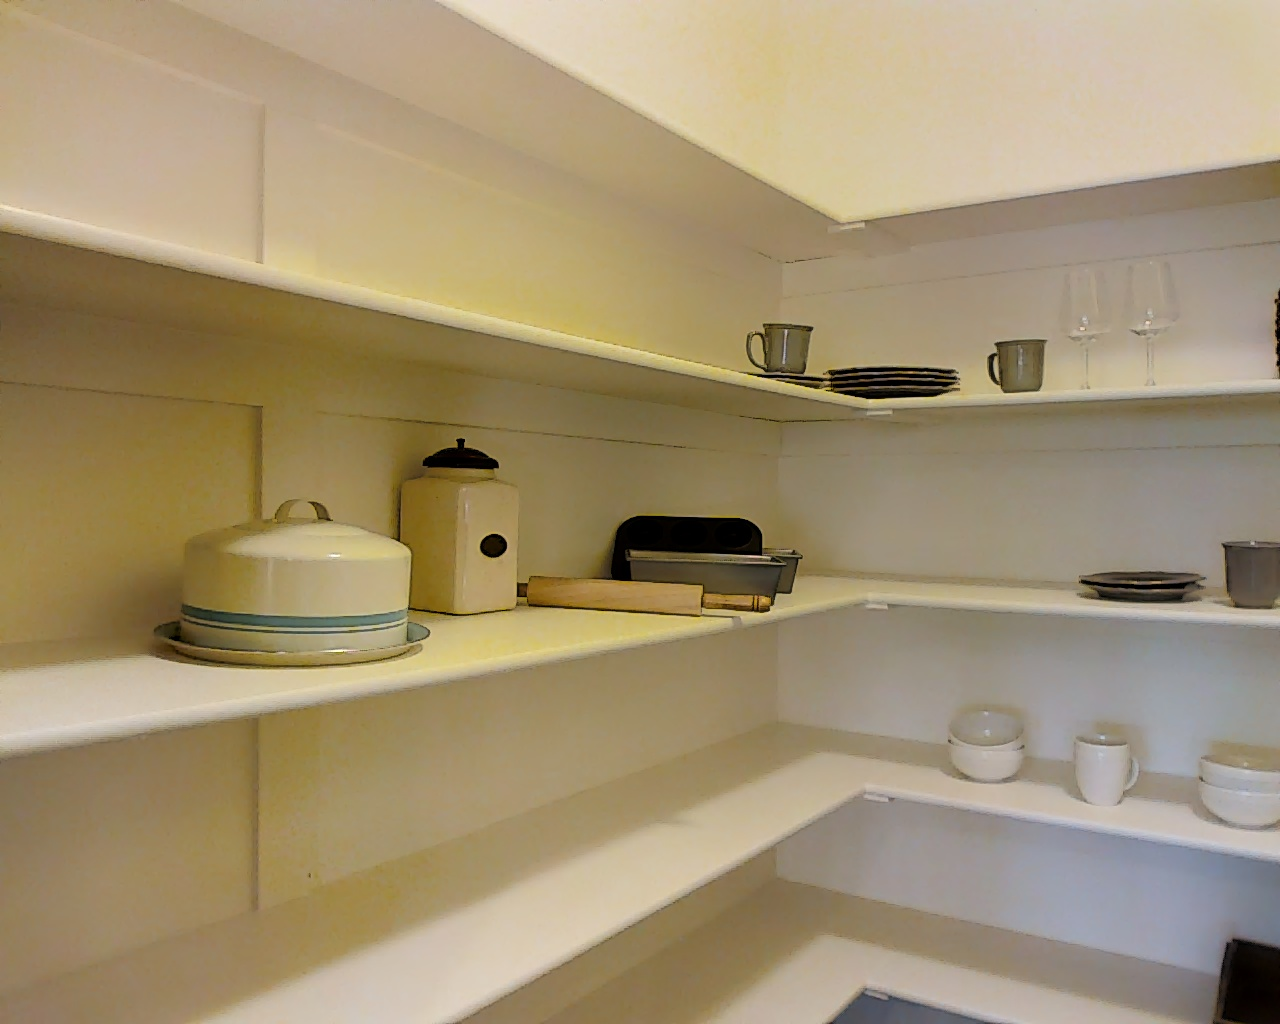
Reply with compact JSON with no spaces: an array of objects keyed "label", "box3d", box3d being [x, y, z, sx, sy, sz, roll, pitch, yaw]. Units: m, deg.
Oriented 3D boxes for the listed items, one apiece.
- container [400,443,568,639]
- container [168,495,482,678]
[{"label":"container","box3d":[-0.230,0.040,1.600,0.150,0.270,0.200,0,0,34]},{"label":"container","box3d":[-0.330,0.070,1.150,0.160,0.170,0.280,0,0,40]}]
